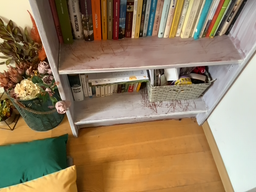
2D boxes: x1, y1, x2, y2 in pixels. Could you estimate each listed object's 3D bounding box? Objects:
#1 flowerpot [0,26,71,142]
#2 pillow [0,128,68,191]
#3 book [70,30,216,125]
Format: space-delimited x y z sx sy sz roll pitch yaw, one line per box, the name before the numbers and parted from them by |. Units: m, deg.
flowerpot | -0.550 -0.030 1.230 0.310 0.640 0.310 -8 56 -10
pillow | -0.590 0.350 1.150 0.480 0.150 0.240 -8 56 -10
book | 0.050 -0.100 1.250 0.700 0.420 0.300 -6 56 -9
